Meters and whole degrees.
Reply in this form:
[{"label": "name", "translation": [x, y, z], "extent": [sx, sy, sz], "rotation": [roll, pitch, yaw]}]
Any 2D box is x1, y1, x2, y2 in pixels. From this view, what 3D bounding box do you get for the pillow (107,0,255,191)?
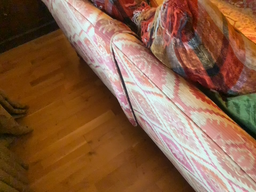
[{"label": "pillow", "translation": [0.310, -0.130, 0.820], "extent": [0.460, 0.620, 0.640], "rotation": [-32, 56, -20]}]
